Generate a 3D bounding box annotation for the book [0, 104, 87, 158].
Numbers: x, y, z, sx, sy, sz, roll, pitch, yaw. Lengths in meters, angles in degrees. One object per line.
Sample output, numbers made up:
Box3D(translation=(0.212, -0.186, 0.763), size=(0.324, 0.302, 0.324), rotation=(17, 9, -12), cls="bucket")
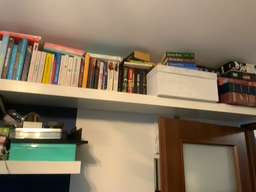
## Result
Box3D(translation=(-0.630, 0.170, 0.990), size=(0.830, 0.220, 0.230), rotation=(6, -17, -17), cls="book")
